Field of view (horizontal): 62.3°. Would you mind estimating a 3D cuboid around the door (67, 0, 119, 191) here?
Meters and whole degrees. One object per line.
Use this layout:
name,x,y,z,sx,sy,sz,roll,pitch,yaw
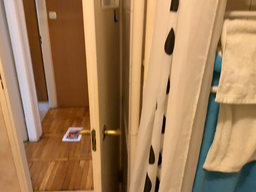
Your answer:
door,-0.110,0.140,1.030,0.080,1.990,0.680,2,23,1
